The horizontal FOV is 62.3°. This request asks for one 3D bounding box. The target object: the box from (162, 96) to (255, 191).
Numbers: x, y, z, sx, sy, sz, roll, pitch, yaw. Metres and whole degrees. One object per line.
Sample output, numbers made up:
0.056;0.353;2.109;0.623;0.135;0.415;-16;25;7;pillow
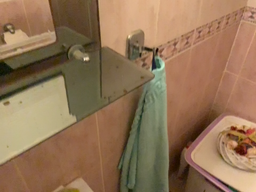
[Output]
0.460;0.450;1.160;0.360;0.750;0.360;-29;48;-33;box
